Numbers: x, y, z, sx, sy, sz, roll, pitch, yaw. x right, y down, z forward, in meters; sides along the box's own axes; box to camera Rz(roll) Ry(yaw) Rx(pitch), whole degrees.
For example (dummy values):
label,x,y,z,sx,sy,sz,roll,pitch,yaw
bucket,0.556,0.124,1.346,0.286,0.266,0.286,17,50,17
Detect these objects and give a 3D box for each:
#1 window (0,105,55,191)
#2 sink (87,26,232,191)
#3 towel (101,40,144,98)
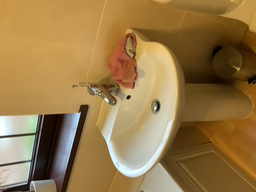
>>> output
label,x,y,z,sx,sy,sz,roll,pitch,yaw
window,-0.900,0.340,1.070,0.040,0.940,0.640,41,122,46
sink,0.060,0.060,0.880,0.430,0.190,0.540,46,125,43
towel,-0.030,-0.110,0.860,0.170,0.050,0.170,47,125,43
